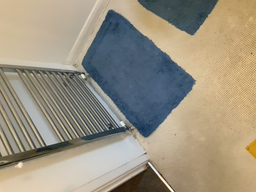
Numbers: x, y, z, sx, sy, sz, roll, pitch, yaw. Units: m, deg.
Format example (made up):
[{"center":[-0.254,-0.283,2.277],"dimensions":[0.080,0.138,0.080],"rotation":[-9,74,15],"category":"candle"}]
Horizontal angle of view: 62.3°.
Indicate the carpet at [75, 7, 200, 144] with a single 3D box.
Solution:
[{"center":[-0.010,-0.160,1.440],"dimensions":[0.830,0.040,0.520],"rotation":[46,115,24],"category":"carpet"}]
